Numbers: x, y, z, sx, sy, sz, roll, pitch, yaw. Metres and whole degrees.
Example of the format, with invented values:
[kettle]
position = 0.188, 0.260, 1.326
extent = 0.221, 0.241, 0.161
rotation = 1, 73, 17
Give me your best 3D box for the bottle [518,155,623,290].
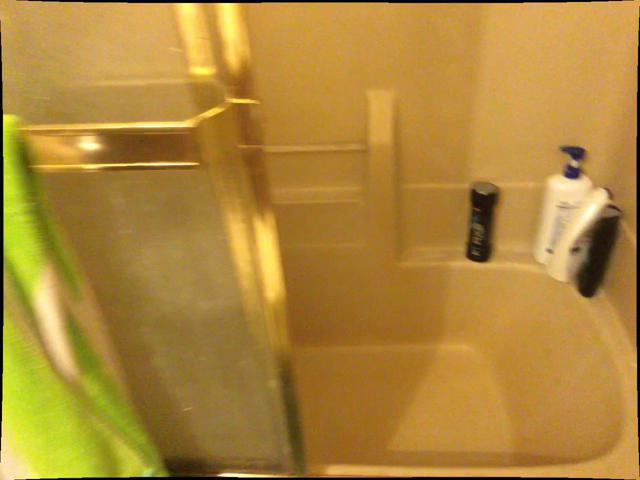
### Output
[bottle]
position = 0.580, -0.040, 1.360
extent = 0.140, 0.260, 0.180
rotation = -1, 39, 5
